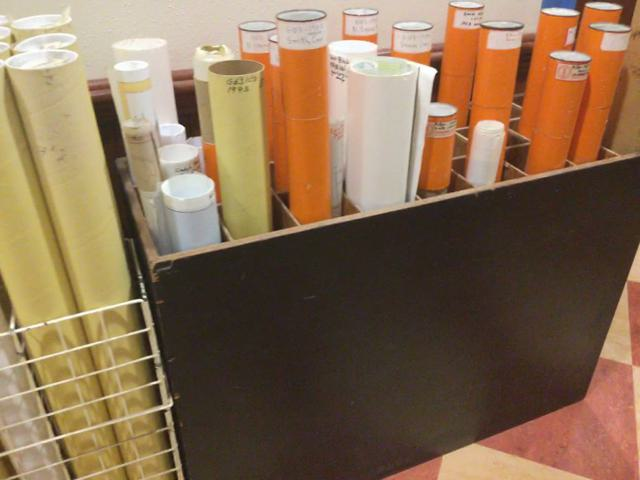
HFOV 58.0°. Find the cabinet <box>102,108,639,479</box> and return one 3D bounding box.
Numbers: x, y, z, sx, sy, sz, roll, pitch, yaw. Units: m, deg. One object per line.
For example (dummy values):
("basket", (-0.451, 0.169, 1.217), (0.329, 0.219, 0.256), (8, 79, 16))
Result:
("cabinet", (0.240, 0.230, 1.350), (1.240, 0.830, 0.190), (-16, 36, -22))
